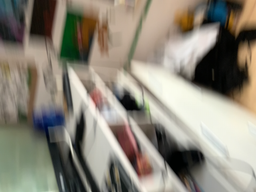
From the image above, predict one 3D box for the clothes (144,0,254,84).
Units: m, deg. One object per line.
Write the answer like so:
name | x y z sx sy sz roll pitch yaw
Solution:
clothes | 0.500 -0.430 1.570 0.330 0.510 0.560 50 128 47
